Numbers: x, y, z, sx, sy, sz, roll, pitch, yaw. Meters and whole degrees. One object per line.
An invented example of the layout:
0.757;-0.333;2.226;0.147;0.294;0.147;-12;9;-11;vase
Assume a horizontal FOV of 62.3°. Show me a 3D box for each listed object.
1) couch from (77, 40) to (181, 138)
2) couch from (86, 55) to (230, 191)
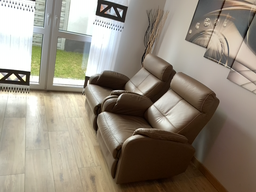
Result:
-0.060;-0.090;2.770;0.930;0.960;0.760;3;25;-27;couch
0.210;0.240;2.140;0.950;0.980;0.750;3;25;-27;couch
